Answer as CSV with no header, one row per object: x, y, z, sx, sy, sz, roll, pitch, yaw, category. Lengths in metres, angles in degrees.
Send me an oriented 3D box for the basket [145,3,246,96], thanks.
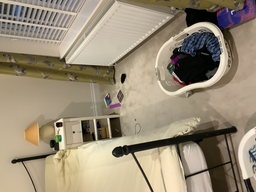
0.480,-0.290,1.700,0.760,0.240,0.540,-6,86,56,basket
